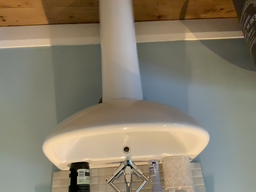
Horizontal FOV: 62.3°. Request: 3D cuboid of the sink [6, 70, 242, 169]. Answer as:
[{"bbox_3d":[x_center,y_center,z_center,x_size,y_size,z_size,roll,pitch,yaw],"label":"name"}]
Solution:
[{"bbox_3d":[-0.010,0.110,0.730,0.570,0.160,0.410,-3,151,-2],"label":"sink"}]
